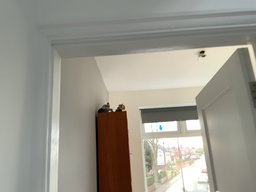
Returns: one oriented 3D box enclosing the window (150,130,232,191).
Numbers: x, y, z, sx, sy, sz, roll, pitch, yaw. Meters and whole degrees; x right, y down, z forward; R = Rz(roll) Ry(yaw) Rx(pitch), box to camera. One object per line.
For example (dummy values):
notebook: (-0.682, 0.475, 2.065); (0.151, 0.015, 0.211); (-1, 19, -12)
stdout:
window: (0.940, 1.060, 3.260); (1.100, 0.970, 0.070); (-5, -16, 3)
